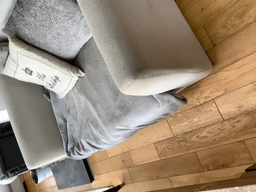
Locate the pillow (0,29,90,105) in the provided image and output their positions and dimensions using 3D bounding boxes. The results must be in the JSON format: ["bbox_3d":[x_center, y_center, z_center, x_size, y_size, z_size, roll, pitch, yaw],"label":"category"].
[{"bbox_3d":[-0.520,-0.140,1.300,0.470,0.470,0.130,-26,79,-3],"label":"pillow"}]

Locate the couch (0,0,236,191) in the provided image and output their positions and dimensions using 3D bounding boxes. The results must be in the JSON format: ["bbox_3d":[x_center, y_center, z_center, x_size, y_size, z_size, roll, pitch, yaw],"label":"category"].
[{"bbox_3d":[-0.360,-0.210,1.360,0.770,1.340,1.140,-14,75,-44],"label":"couch"}]
